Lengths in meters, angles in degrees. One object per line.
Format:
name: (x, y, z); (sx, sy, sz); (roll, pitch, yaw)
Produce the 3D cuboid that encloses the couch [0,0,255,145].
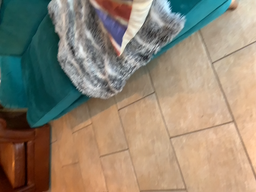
couch: (-0.490, -0.440, 1.400); (1.990, 0.860, 1.040); (-31, 71, 44)
